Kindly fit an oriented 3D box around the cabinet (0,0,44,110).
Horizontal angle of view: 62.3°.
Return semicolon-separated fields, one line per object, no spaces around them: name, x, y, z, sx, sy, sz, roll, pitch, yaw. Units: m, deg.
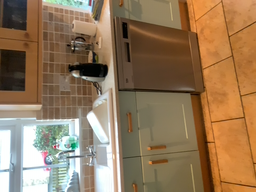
cabinet;-1.120;-0.450;1.720;0.290;0.790;1.090;154;115;-62
